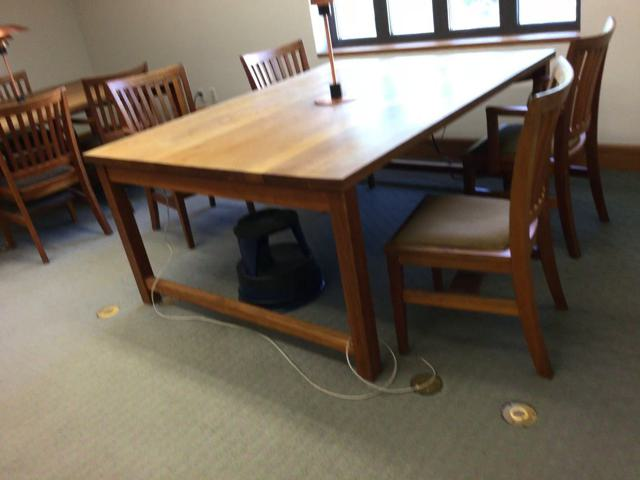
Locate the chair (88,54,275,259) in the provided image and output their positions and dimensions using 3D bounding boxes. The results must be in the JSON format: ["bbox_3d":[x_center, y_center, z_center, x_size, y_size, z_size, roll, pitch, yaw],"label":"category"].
[{"bbox_3d":[-0.780,-0.510,3.330,0.660,0.960,0.620,-23,25,-33],"label":"chair"}]

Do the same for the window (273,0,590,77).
[{"bbox_3d":[0.580,-1.720,3.490,1.890,1.240,0.420,5,25,32],"label":"window"}]

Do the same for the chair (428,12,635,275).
[{"bbox_3d":[1.020,-0.490,2.690,0.660,0.930,0.940,5,25,32],"label":"chair"}]

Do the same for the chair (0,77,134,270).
[{"bbox_3d":[-1.730,-0.420,3.440,0.730,0.920,0.680,5,25,32],"label":"chair"}]

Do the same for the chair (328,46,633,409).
[{"bbox_3d":[0.580,-0.110,1.930,0.710,0.880,0.770,5,25,32],"label":"chair"}]
